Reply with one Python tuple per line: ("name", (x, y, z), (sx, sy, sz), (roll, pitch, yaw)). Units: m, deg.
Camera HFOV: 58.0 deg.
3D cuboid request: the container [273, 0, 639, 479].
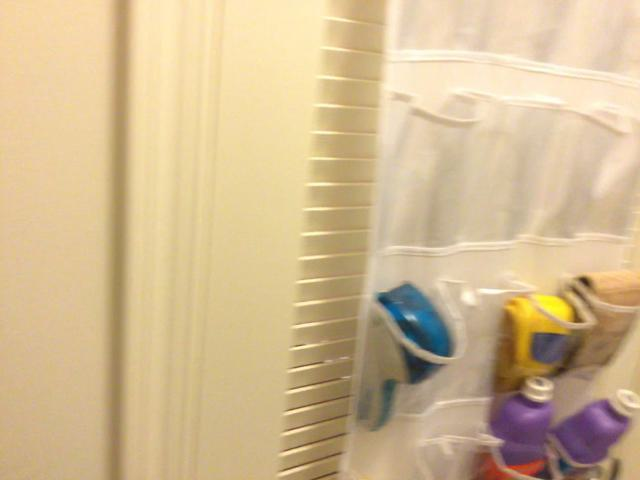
("container", (0.230, 0.210, 0.760), (0.550, 1.530, 0.170), (-3, 17, -31))
